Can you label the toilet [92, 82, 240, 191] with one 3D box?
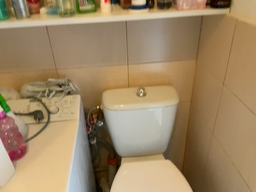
[{"bbox_3d":[0.090,0.480,1.040,0.400,0.850,0.680,-4,31,-3],"label":"toilet"}]
